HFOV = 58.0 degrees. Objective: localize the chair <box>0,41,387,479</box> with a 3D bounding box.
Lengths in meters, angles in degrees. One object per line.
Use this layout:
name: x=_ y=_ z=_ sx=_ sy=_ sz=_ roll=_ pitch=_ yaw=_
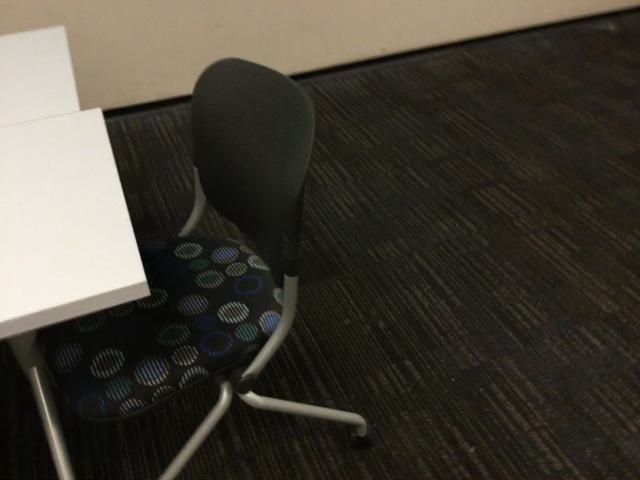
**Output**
chair: x=-0.290 y=0.100 z=1.270 sx=0.620 sy=0.860 sz=0.570 roll=-16 pitch=35 yaw=-23
